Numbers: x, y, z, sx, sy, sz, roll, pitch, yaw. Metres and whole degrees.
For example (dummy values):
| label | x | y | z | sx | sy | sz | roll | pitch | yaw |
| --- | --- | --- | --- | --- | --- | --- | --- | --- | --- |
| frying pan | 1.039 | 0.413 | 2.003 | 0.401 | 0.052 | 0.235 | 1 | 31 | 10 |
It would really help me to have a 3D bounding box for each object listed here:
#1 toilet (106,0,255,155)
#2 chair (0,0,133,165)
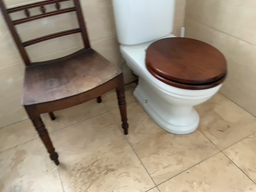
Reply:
| label | x | y | z | sx | sy | sz | roll | pitch | yaw |
| --- | --- | --- | --- | --- | --- | --- | --- | --- | --- |
| toilet | 0.230 | -0.260 | 1.210 | 0.400 | 0.810 | 0.730 | -21 | 42 | -19 |
| chair | -0.310 | -0.150 | 1.120 | 0.460 | 0.820 | 0.480 | -20 | 42 | -18 |
